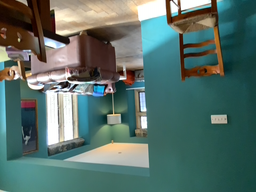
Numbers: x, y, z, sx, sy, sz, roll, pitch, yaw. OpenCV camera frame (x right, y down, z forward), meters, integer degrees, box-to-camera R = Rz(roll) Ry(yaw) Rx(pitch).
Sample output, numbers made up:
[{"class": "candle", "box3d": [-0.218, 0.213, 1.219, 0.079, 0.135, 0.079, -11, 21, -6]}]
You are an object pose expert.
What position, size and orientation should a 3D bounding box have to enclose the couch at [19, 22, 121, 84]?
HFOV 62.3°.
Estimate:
[{"class": "couch", "box3d": [-0.990, -0.650, 3.760, 1.390, 0.710, 1.030, -4, 178, 27]}]
